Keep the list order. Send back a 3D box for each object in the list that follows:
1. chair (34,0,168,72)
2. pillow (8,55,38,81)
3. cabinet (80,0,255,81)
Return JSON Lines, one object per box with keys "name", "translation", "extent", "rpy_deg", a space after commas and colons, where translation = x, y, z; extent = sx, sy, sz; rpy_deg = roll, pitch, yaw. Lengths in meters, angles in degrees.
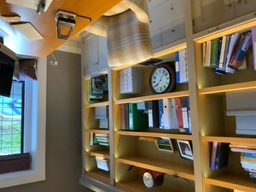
{"name": "chair", "translation": [-0.200, -0.780, 1.720], "extent": [0.720, 0.960, 0.770], "rpy_deg": [-6, 173, 35]}
{"name": "pillow", "translation": [-1.710, -0.440, 3.450], "extent": [0.470, 0.320, 0.220], "rpy_deg": [-5, 174, 30]}
{"name": "cabinet", "translation": [0.300, -0.810, 2.510], "extent": [0.460, 0.800, 2.940], "rpy_deg": [2, 173, -38]}
